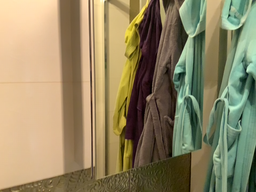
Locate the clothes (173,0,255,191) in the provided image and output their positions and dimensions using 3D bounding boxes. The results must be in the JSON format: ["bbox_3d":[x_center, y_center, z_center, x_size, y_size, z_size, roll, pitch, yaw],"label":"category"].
[{"bbox_3d":[0.390,0.040,0.820,0.290,1.310,0.280,-4,7,-36],"label":"clothes"}]
